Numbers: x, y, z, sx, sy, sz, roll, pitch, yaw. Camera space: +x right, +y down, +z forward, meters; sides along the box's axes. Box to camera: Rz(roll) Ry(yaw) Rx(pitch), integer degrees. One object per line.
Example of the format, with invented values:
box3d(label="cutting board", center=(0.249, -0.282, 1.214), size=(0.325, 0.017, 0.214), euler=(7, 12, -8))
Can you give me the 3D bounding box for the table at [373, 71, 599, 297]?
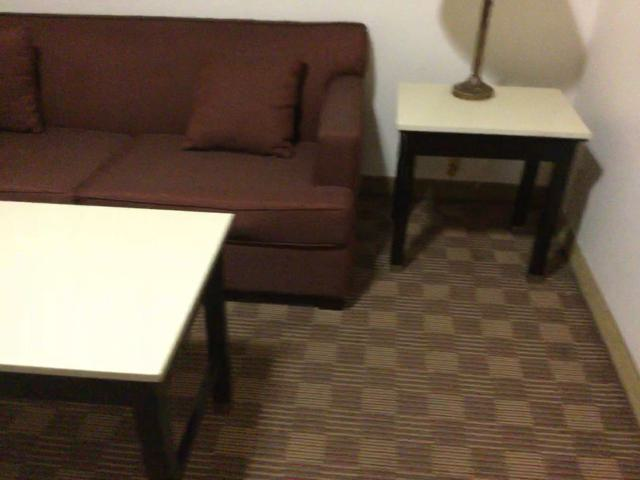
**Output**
box3d(label="table", center=(0.570, -0.230, 2.200), size=(0.640, 0.640, 0.510), euler=(7, 32, 6))
